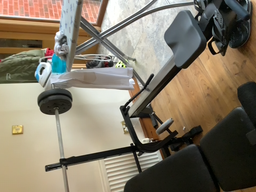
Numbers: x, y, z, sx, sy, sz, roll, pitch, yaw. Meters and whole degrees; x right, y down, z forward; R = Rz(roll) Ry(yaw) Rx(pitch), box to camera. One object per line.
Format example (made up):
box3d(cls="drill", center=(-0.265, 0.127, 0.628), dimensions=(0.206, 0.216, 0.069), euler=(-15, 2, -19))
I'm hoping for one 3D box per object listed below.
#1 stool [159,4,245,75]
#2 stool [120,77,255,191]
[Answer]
box3d(cls="stool", center=(0.470, -0.360, 1.410), dimensions=(0.280, 0.350, 0.330), euler=(-54, 47, 53))
box3d(cls="stool", center=(0.460, 0.380, 1.220), dimensions=(1.170, 0.620, 0.330), euler=(-59, 42, 50))
